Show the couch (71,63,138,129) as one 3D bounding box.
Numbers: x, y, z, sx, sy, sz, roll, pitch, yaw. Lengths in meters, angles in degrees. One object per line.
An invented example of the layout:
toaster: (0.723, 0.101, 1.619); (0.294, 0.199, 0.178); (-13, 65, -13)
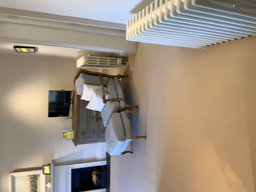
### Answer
couch: (-0.480, 0.010, 3.850); (0.750, 0.950, 0.860); (120, 144, -51)

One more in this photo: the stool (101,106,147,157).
stool: (-0.110, 0.600, 3.570); (0.770, 0.470, 0.540); (118, 145, -50)

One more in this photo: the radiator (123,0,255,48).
radiator: (0.500, -0.510, 1.470); (0.950, 0.770, 0.190); (-165, 76, -67)
